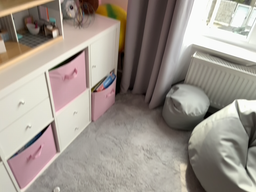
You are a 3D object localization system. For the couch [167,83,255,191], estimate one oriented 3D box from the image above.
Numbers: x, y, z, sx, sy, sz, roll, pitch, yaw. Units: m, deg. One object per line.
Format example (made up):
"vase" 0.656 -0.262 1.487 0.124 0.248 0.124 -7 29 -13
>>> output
"couch" 0.720 0.400 1.410 0.700 0.610 0.710 4 40 -3

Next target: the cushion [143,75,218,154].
"cushion" 0.440 0.140 1.830 0.370 0.400 0.430 36 47 30
